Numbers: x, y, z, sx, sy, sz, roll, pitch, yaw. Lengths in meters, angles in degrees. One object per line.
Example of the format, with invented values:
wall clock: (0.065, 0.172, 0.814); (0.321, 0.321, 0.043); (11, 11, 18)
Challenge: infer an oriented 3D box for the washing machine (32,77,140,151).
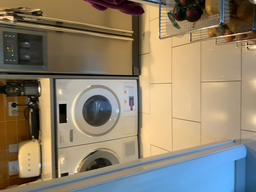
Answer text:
washing machine: (-0.460, 0.130, 2.260); (0.710, 0.920, 0.600); (1, 93, 57)

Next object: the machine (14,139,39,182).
machine: (-1.040, 0.650, 2.170); (0.220, 0.200, 0.340); (4, 95, 57)
